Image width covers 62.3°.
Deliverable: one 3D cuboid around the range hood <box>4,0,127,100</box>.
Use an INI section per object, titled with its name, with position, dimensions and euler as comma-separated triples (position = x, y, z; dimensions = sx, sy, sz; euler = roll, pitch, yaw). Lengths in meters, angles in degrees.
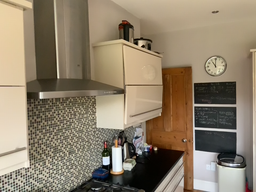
[range hood]
position = -0.360, -0.500, 1.380
dimensions = 0.420, 1.000, 0.640
euler = 1, 3, 31
